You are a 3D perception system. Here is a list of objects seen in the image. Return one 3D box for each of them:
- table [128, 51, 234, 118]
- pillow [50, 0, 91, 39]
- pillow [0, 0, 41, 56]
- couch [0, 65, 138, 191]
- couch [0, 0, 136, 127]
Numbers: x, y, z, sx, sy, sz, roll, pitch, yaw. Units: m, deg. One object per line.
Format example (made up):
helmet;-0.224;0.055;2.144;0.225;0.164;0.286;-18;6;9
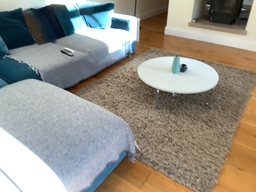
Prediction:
table;0.560;-0.200;2.580;0.900;0.310;0.920;-8;34;-14
pillow;-0.890;-1.270;3.370;0.140;0.460;0.530;23;61;29
pillow;-1.490;-0.870;2.740;0.130;0.490;0.490;17;58;36
couch;-0.820;0.370;1.530;1.250;0.480;1.320;21;38;28
couch;-1.360;-0.570;2.640;1.270;0.850;3.410;21;38;28
